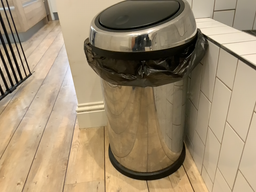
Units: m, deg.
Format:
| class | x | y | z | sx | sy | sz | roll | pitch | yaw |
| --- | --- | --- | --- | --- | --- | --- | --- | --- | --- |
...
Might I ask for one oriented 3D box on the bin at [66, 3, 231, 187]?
| class | x | y | z | sx | sy | sz | roll | pitch | yaw |
| --- | --- | --- | --- | --- | --- | --- | --- | --- | --- |
| bin | 0.070 | 0.010 | 0.860 | 0.430 | 0.650 | 0.330 | -3 | 31 | 2 |
